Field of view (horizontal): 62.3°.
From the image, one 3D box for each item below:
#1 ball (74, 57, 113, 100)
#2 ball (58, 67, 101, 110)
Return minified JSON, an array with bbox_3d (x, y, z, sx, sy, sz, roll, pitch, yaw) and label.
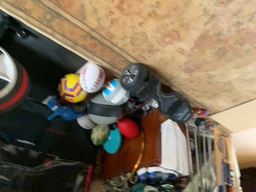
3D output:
[{"bbox_3d":[-0.240,-0.120,1.510,0.210,0.190,0.140,30,139,-34],"label":"ball"},{"bbox_3d":[-0.370,-0.050,1.640,0.230,0.200,0.200,27,141,-31],"label":"ball"}]
